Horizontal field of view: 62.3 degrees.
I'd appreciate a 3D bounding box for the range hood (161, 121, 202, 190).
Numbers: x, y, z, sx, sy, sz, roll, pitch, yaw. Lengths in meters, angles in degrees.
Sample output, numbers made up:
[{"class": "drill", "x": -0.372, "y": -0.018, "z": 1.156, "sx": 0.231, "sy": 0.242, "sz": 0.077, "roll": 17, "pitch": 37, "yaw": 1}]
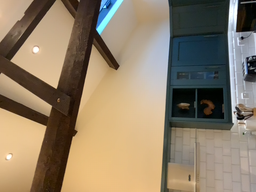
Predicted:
[{"class": "range hood", "x": 0.710, "y": 0.760, "z": 2.770, "sx": 0.320, "sy": 0.470, "sz": 0.790, "roll": 51, "pitch": -138, "yaw": -64}]
